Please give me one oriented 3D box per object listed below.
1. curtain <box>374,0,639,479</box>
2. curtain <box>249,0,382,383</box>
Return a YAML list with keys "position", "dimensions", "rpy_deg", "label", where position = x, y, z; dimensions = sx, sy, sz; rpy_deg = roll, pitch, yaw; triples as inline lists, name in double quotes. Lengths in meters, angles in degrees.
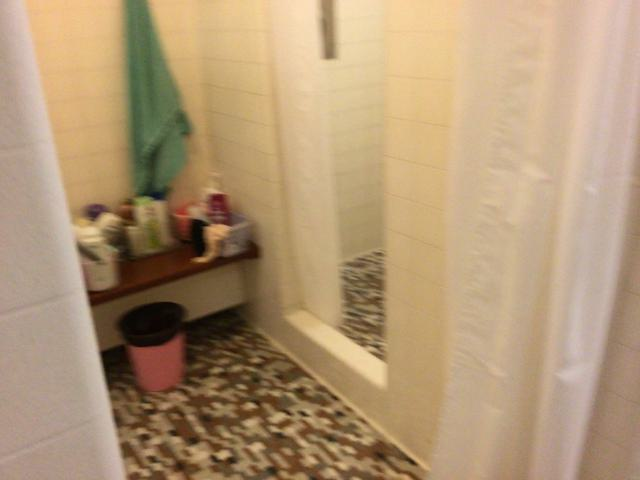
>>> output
- position: [0.350, 0.130, 1.020]
  dimensions: [0.380, 1.630, 0.290]
  rpy_deg: [-16, 24, -30]
  label: "curtain"
- position: [-0.010, -0.430, 2.090]
  dimensions: [0.310, 1.940, 0.290]
  rpy_deg: [-16, 24, -30]
  label: "curtain"
